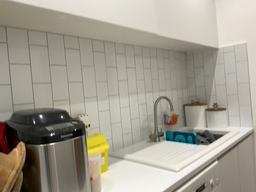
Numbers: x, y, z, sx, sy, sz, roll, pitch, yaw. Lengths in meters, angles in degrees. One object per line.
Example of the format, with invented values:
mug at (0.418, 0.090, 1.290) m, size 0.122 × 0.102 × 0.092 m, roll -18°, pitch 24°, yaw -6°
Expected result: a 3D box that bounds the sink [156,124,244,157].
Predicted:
sink at (0.600, 0.340, 1.760) m, size 0.550 × 0.100 × 0.490 m, roll -6°, pitch 2°, yaw -44°
